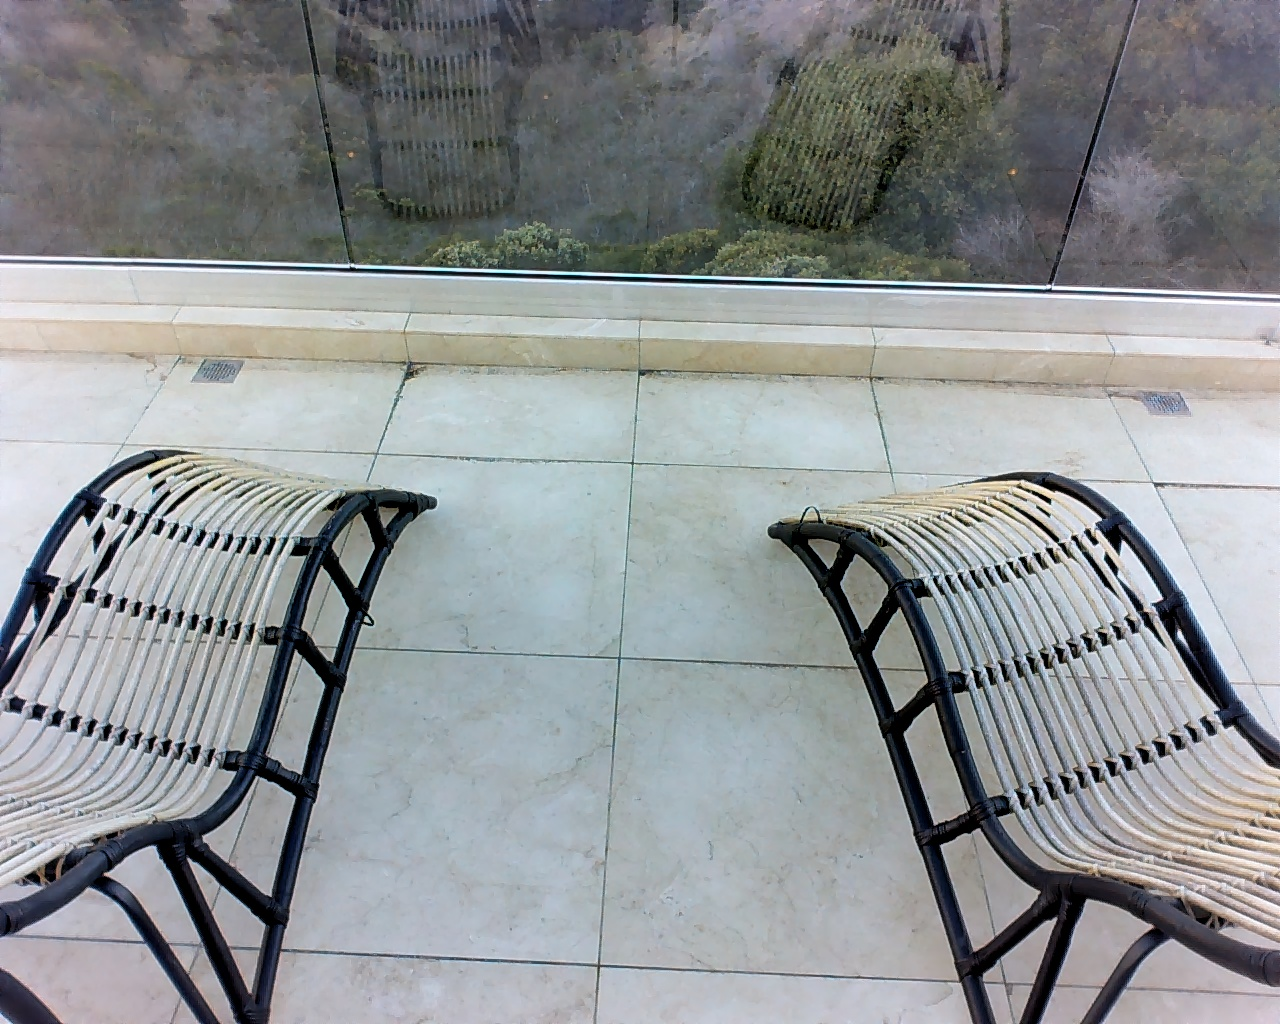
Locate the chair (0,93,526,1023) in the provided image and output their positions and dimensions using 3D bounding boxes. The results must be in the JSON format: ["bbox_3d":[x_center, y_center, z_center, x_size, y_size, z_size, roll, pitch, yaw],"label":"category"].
[{"bbox_3d":[-0.800,0.120,1.610,0.810,0.860,1.530,8,42,8],"label":"chair"}]

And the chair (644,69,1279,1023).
[{"bbox_3d":[0.700,0.110,1.630,0.910,0.920,1.520,-13,44,-15],"label":"chair"}]
